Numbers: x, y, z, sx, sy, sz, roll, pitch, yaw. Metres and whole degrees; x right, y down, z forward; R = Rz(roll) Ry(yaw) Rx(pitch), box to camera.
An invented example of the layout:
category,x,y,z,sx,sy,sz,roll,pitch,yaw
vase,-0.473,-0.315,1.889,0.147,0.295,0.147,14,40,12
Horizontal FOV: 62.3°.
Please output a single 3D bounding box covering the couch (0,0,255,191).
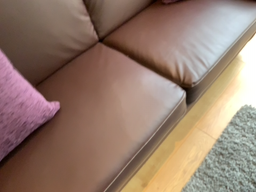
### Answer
category,x,y,z,sx,sy,sz,roll,pitch,yaw
couch,-0.020,-0.230,1.010,0.780,0.840,1.860,34,63,26
